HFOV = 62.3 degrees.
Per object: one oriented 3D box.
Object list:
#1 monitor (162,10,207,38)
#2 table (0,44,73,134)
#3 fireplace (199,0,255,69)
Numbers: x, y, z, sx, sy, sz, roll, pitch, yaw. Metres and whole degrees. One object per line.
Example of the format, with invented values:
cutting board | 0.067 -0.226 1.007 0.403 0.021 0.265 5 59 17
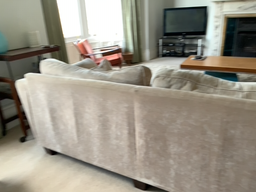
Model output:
monitor | 1.370 -1.770 5.270 1.040 0.640 0.090 4 22 14
table | -1.050 -0.120 2.410 0.400 0.830 0.620 10 25 27
fireplace | 2.660 -1.370 4.710 1.840 1.360 0.780 9 24 26
